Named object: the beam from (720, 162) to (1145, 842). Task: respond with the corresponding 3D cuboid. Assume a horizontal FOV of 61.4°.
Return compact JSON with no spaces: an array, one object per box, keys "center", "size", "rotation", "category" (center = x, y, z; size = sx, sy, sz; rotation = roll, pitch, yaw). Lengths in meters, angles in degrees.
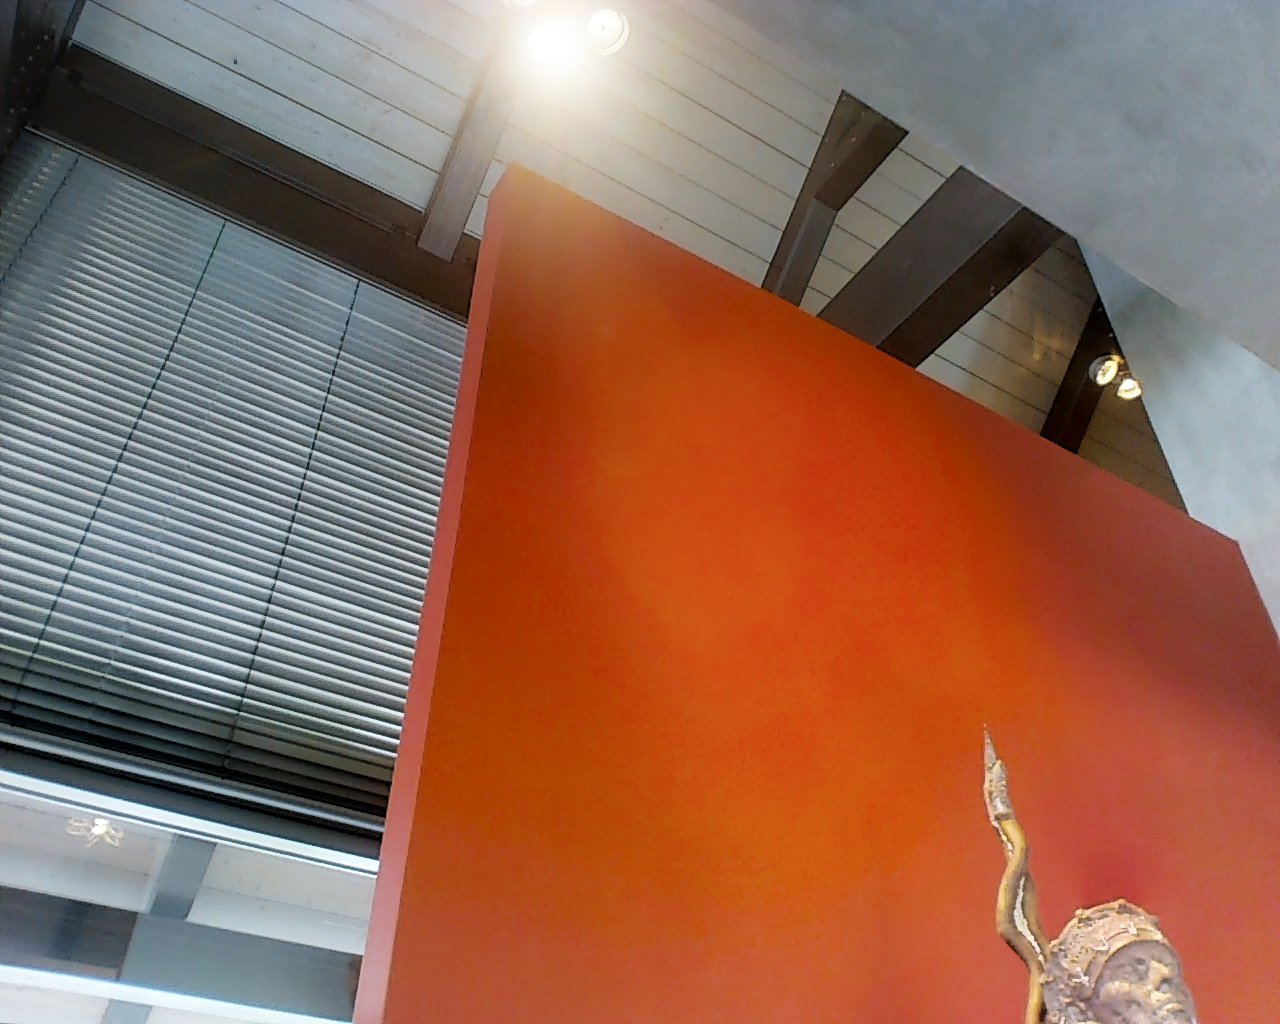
[{"center":[0.820,-0.080,3.760],"size":[0.290,2.021,1.340],"rotation":[22,-44,-24],"category":"beam"}]
